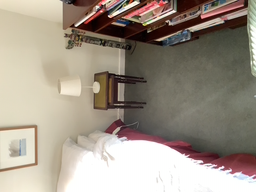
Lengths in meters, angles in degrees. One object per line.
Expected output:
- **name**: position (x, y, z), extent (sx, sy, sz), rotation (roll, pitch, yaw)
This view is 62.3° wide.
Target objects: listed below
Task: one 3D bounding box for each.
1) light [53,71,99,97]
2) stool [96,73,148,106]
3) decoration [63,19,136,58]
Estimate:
- **light**: position (-0.520, -0.110, 2.140), extent (0.240, 0.380, 0.220), rotation (-1, 87, 54)
- **stool**: position (-0.060, -0.060, 2.300), extent (0.270, 0.480, 0.320), rotation (1, 89, 54)
- **decoration**: position (-0.310, -0.640, 2.430), extent (0.190, 0.790, 0.250), rotation (38, 118, 48)
